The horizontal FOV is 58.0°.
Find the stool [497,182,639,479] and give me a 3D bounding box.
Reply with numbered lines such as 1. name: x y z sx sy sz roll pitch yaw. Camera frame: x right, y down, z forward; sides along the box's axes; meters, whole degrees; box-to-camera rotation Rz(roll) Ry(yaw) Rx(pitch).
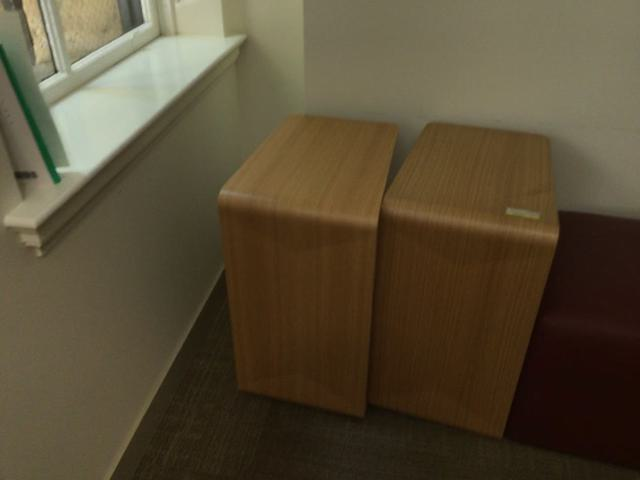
1. stool: 0.760 0.210 1.480 0.520 0.460 0.580 8 32 13

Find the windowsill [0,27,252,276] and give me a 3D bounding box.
1. windowsill: -0.440 -0.300 1.340 0.240 0.150 1.090 6 32 10
